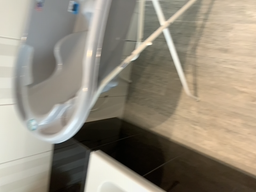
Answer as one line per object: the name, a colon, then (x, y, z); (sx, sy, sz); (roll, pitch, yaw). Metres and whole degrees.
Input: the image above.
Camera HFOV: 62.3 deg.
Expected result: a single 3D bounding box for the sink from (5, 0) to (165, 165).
sink: (-0.180, -0.340, 0.860); (0.530, 0.340, 1.000); (17, 103, 36)
